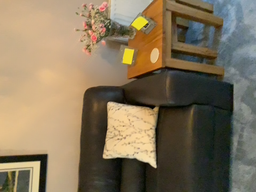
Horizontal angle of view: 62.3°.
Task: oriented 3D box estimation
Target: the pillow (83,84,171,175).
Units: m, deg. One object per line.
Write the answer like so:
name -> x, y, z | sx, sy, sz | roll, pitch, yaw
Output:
pillow -> 0.000, 0.260, 1.720 | 0.510, 0.460, 0.240 | -52, 17, -18

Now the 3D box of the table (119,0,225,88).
table -> 0.340, -0.480, 1.880 | 0.710, 0.590, 0.670 | -13, 75, 63
